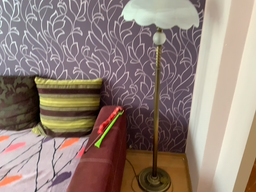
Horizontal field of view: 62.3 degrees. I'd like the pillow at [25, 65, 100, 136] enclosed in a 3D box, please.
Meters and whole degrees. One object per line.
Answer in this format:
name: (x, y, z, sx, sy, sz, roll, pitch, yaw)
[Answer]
pillow: (-0.550, 0.040, 1.800, 0.500, 0.410, 0.220, 19, 26, -3)
